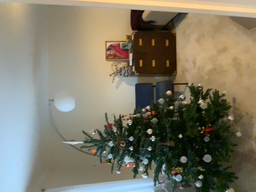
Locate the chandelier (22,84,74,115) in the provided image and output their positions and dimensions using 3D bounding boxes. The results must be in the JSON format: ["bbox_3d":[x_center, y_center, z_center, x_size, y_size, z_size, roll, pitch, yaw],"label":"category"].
[{"bbox_3d":[-1.070,0.040,2.920,0.300,0.620,0.300,-111,23,-61],"label":"chandelier"}]

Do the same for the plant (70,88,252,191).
[{"bbox_3d":[0.300,0.500,2.500,0.920,1.800,1.100,-152,62,-78],"label":"plant"}]

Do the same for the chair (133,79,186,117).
[{"bbox_3d":[0.520,0.030,3.700,0.730,0.700,0.590,176,92,-79],"label":"chair"}]
